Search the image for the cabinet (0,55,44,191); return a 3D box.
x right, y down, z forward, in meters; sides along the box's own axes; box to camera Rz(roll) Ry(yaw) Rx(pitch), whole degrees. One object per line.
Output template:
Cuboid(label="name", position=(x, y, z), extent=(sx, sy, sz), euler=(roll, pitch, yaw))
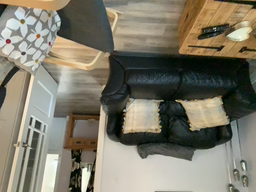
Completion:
Cuboid(label="cabinet", position=(-1.340, 0.570, 2.340), extent=(0.370, 2.160, 0.290), euler=(2, 159, -2))

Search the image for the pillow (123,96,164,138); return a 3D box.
Cuboid(label="pillow", position=(0.180, 0.250, 2.620), extent=(0.460, 0.470, 0.250), euler=(2, -177, -1))

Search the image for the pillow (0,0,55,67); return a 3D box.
Cuboid(label="pillow", position=(-0.630, -0.380, 1.320), extent=(0.170, 0.380, 0.560), euler=(2, -174, -2))

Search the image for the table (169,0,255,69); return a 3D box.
Cuboid(label="table", position=(0.850, -0.590, 1.590), extent=(0.840, 0.360, 0.830), euler=(4, 159, -5))

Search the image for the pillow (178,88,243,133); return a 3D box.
Cuboid(label="pillow", position=(0.970, 0.170, 2.570), extent=(0.600, 0.460, 0.260), euler=(2, -153, 0))
